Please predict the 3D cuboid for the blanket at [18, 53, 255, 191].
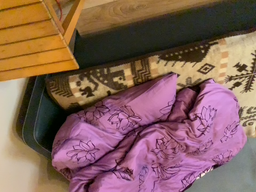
[{"bbox_3d":[0.140,0.340,1.010,0.850,0.510,0.780,-10,144,10],"label":"blanket"}]
